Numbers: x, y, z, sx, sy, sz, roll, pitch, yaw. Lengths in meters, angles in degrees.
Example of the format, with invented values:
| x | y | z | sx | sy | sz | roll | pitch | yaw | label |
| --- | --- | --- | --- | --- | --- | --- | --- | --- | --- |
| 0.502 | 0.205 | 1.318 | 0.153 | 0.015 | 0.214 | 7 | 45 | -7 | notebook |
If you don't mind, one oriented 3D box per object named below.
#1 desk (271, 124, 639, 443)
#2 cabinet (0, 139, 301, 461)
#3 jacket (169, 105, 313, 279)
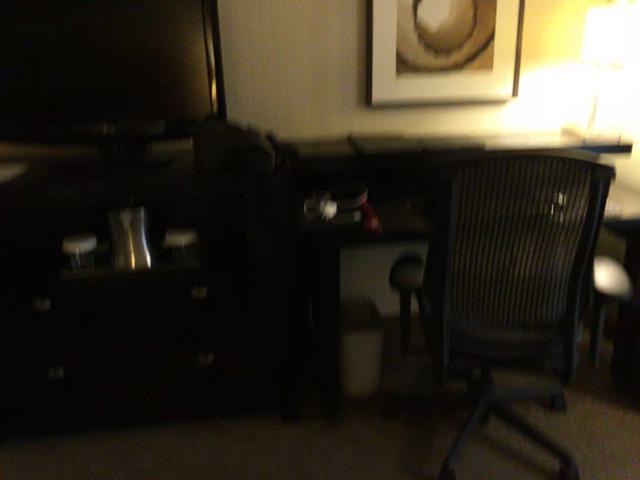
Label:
| x | y | z | sx | sy | sz | roll | pitch | yaw | label |
| --- | --- | --- | --- | --- | --- | --- | --- | --- | --- |
| 0.550 | 0.090 | 2.260 | 1.390 | 0.960 | 0.710 | -3 | 18 | -9 | desk |
| -0.670 | 0.170 | 2.110 | 1.120 | 0.960 | 0.560 | -3 | 18 | -9 | cabinet |
| -0.250 | -0.170 | 1.900 | 0.410 | 0.500 | 0.290 | -3 | 18 | -9 | jacket |
